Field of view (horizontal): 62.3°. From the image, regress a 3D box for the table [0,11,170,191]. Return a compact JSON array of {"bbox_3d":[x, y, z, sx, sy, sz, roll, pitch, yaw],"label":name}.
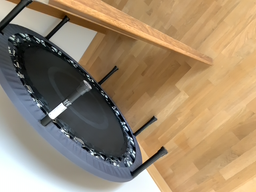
[{"bbox_3d":[-0.320,-0.020,1.280,0.270,0.770,0.990,-50,63,25],"label":"table"}]
